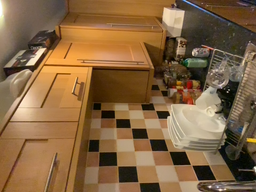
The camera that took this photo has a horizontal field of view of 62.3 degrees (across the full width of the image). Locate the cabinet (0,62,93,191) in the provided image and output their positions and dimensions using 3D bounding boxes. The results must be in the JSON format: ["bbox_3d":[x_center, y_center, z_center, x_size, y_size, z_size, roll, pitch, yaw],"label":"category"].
[{"bbox_3d":[-0.390,0.220,1.010,1.200,0.380,0.300,-99,12,-57],"label":"cabinet"}]
